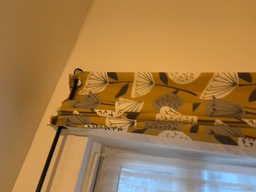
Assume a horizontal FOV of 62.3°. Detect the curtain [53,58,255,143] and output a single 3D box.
[{"bbox_3d":[0.390,0.010,0.960,0.150,1.420,0.330,74,-158,-55],"label":"curtain"}]
